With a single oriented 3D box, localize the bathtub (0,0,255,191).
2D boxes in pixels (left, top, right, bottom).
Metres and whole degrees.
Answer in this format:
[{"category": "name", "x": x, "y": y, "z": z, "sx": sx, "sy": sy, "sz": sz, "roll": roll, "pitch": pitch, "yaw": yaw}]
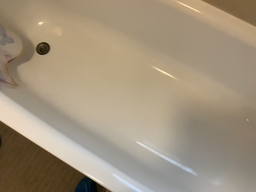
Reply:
[{"category": "bathtub", "x": 0.030, "y": 0.000, "z": 0.940, "sx": 1.700, "sy": 0.570, "sz": 0.690, "roll": 30, "pitch": 78, "yaw": 7}]
